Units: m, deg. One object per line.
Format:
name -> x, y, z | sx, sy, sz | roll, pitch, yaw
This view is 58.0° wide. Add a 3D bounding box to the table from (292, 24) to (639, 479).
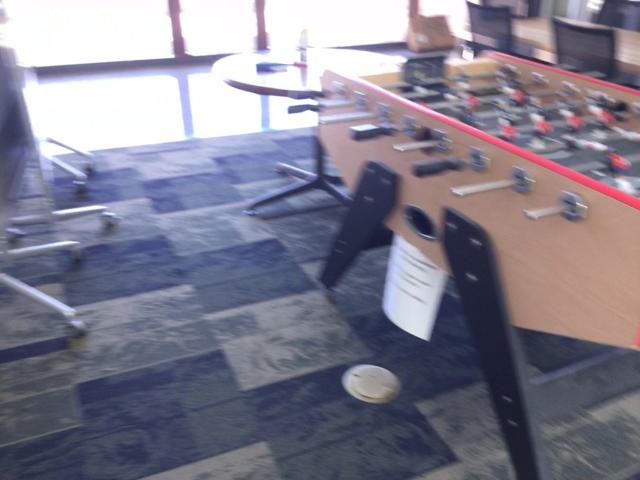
table -> 0.610, -0.040, 1.850 | 0.860, 0.920, 1.480 | -15, 33, -19
